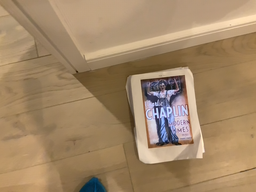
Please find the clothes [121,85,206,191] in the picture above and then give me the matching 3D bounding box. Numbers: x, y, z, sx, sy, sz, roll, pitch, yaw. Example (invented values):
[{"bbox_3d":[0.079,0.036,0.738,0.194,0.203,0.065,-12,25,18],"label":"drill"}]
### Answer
[{"bbox_3d":[0.110,0.130,0.690,0.220,0.030,0.300,-10,84,-3],"label":"clothes"}]
